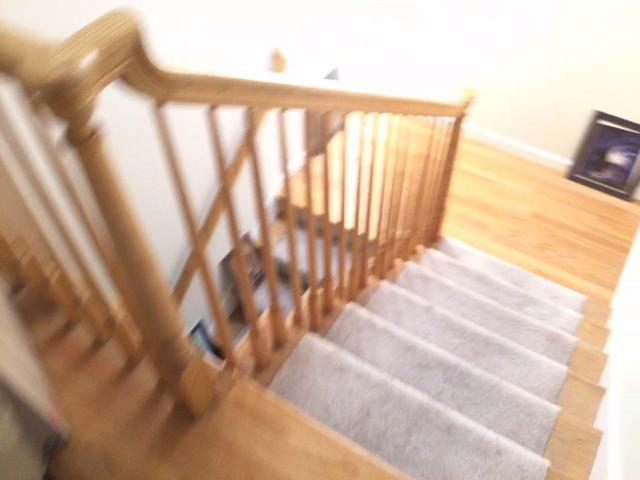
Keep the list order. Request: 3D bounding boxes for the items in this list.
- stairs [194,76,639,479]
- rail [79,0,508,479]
[{"bbox_3d":[0.540,0.350,2.210,1.070,1.010,1.640,25,51,20],"label":"stairs"},{"bbox_3d":[0.170,-0.170,1.880,0.160,1.730,1.680,25,51,20],"label":"rail"}]
